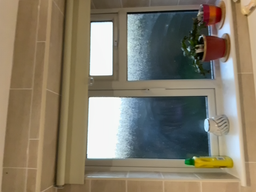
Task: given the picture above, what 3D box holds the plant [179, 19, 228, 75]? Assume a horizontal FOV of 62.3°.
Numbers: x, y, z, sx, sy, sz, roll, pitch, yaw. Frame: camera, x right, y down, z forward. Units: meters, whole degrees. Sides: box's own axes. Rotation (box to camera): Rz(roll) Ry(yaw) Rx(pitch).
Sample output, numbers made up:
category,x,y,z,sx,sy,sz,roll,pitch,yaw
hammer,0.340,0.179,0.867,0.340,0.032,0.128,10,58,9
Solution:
category,x,y,z,sx,sy,sz,roll,pitch,yaw
plant,0.480,-0.310,1.390,0.200,0.240,0.300,68,-158,-81
